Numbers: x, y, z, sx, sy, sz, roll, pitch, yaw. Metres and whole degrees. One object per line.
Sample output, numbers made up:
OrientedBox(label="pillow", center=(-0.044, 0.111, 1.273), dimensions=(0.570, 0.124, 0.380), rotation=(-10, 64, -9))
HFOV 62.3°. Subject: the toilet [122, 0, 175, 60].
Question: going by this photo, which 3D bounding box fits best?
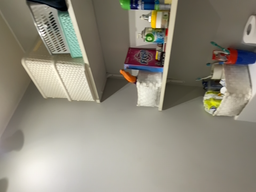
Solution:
OrientedBox(label="toilet", center=(0.090, -0.320, 0.940), dimensions=(0.290, 0.200, 0.130), rotation=(87, -168, -53))
